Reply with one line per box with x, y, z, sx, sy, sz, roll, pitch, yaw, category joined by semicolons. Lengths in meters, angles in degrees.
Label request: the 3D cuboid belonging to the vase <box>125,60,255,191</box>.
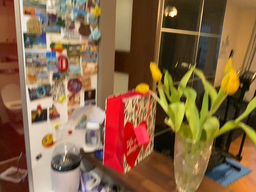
0.270;0.140;0.840;0.450;0.500;0.310;18;21;41;vase

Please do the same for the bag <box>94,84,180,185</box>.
0.050;0.150;1.030;0.200;0.340;0.380;17;20;39;bag

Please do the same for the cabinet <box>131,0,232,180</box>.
0.760;-0.310;2.810;0.300;2.370;1.580;18;21;41;cabinet
